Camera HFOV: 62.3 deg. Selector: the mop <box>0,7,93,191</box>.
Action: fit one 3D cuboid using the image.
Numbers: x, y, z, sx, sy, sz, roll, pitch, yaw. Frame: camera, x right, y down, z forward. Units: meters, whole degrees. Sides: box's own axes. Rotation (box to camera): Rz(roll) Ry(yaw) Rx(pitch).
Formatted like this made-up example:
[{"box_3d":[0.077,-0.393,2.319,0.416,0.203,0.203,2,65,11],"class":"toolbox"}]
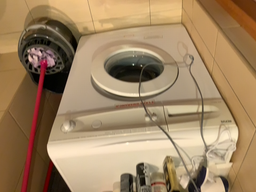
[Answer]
[{"box_3d":[-0.380,0.100,1.070,0.210,1.000,0.710,-4,132,1],"class":"mop"}]
